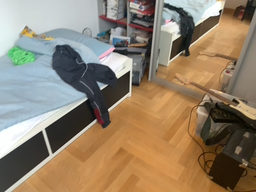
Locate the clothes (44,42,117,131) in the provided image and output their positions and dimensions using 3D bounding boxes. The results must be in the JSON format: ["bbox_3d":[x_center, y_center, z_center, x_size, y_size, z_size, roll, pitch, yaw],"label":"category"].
[{"bbox_3d":[-0.400,-0.100,1.910,0.480,0.570,0.360,26,43,28],"label":"clothes"}]
